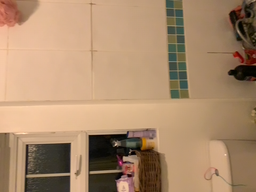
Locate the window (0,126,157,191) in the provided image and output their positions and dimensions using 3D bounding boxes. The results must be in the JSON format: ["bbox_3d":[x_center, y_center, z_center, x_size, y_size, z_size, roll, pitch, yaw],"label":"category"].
[{"bbox_3d":[-0.310,0.500,1.410,0.050,1.010,0.570,140,129,-79],"label":"window"}]
